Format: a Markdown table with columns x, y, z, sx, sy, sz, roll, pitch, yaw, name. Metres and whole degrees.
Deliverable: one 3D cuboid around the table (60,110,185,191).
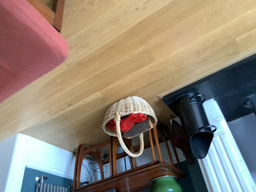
| x | y | z | sx | sy | sz | roll | pitch | yaw | name |
| --- | --- | --- | --- | --- | --- | --- | --- | --- | --- |
| -0.080 | 0.680 | 2.150 | 1.030 | 0.510 | 0.600 | -26 | 139 | 22 | table |
